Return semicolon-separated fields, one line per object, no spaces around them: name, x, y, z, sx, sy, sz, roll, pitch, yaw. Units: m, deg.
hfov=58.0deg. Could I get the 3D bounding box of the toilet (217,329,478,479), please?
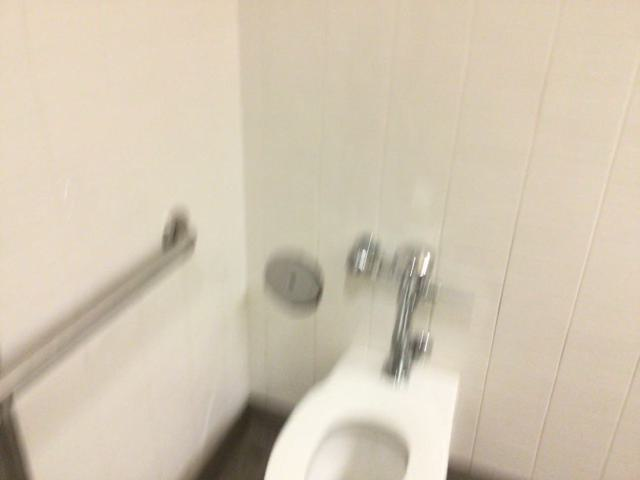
toilet;0.080;0.560;1.290;0.390;0.370;0.620;11;27;21
